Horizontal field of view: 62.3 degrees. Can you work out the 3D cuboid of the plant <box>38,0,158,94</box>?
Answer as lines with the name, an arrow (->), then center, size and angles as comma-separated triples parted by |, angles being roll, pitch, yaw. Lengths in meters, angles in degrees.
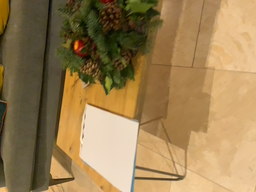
plant -> -0.110, -0.200, 0.640 | 0.340, 0.180, 0.330 | 15, 99, 48
